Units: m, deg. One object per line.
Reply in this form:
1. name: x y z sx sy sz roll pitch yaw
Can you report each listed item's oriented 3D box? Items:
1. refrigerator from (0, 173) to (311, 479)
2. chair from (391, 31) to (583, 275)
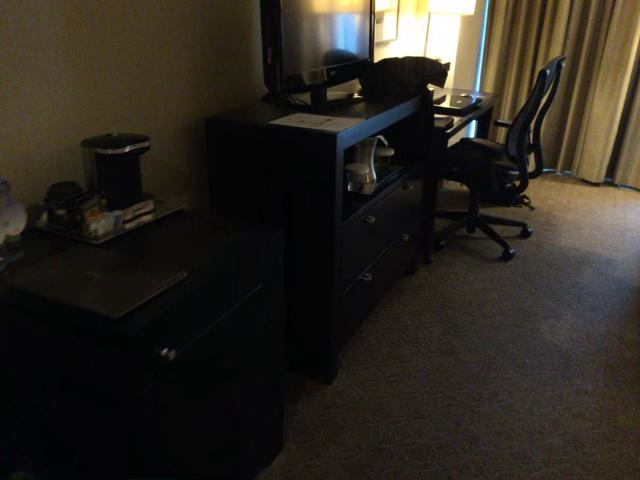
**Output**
1. refrigerator: -0.520 0.360 1.570 0.660 0.810 0.860 11 25 25
2. chair: 0.920 -0.540 3.270 0.740 1.160 0.680 15 27 31
